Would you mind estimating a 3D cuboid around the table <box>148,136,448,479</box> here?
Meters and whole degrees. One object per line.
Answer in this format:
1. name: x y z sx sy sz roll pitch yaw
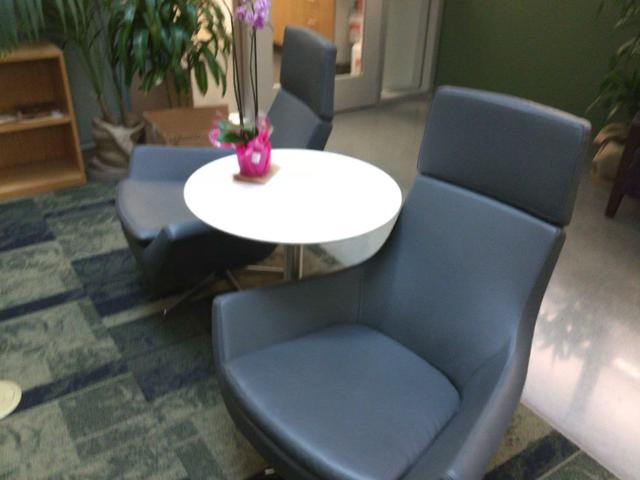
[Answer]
1. table: -0.100 0.140 1.770 0.610 0.730 0.630 -12 28 -30
